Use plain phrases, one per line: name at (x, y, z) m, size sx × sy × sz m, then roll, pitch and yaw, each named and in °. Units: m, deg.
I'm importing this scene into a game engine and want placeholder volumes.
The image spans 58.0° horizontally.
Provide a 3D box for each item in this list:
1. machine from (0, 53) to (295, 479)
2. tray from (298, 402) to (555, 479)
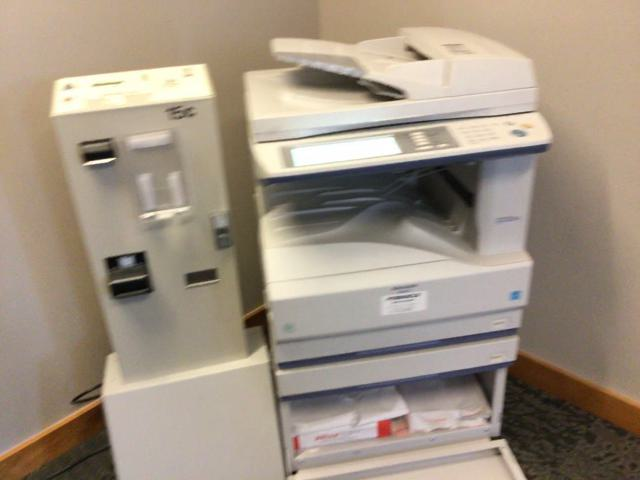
machine at (-0.340, 0.160, 1.380) m, size 0.450 × 1.060 × 0.500 m, roll -7°, pitch 26°, yaw -3°
tray at (0.270, 0.630, 1.480) m, size 0.620 × 0.060 × 0.450 m, roll -7°, pitch 26°, yaw -3°
